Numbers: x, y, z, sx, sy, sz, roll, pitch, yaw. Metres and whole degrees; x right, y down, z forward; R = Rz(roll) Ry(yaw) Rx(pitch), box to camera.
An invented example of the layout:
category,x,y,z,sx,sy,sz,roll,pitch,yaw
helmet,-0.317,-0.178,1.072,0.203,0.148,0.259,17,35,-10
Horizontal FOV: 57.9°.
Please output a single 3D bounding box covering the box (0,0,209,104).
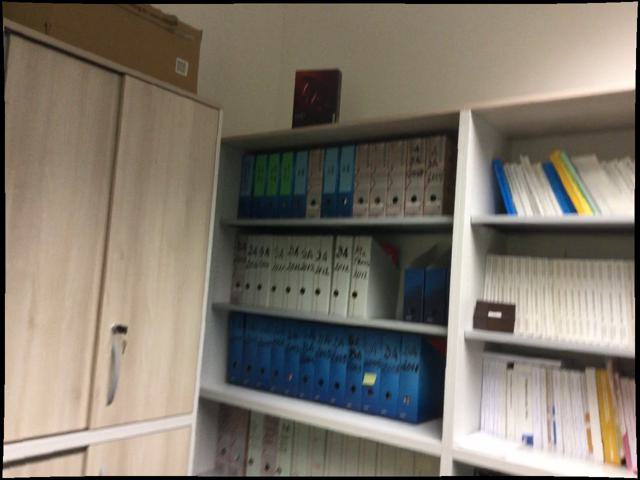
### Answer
category,x,y,z,sx,sy,sz,roll,pitch,yaw
box,-0.689,-0.671,1.870,0.230,0.270,0.660,1,-3,35
